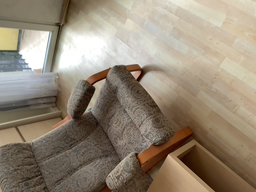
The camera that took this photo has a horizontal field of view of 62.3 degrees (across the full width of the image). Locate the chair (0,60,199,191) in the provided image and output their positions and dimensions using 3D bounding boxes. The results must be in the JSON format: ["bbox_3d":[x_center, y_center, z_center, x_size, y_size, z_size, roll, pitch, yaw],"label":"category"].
[{"bbox_3d":[-0.250,0.310,1.470,0.750,1.020,0.790,54,129,21],"label":"chair"}]
